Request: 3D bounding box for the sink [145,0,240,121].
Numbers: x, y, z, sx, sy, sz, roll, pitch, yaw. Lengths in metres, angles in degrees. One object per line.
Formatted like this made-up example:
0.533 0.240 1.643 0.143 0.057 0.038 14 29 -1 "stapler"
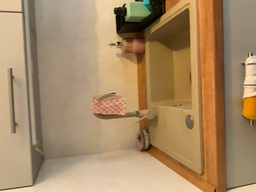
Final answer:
0.230 -0.130 0.890 0.440 0.160 0.400 -173 81 -74 "sink"
